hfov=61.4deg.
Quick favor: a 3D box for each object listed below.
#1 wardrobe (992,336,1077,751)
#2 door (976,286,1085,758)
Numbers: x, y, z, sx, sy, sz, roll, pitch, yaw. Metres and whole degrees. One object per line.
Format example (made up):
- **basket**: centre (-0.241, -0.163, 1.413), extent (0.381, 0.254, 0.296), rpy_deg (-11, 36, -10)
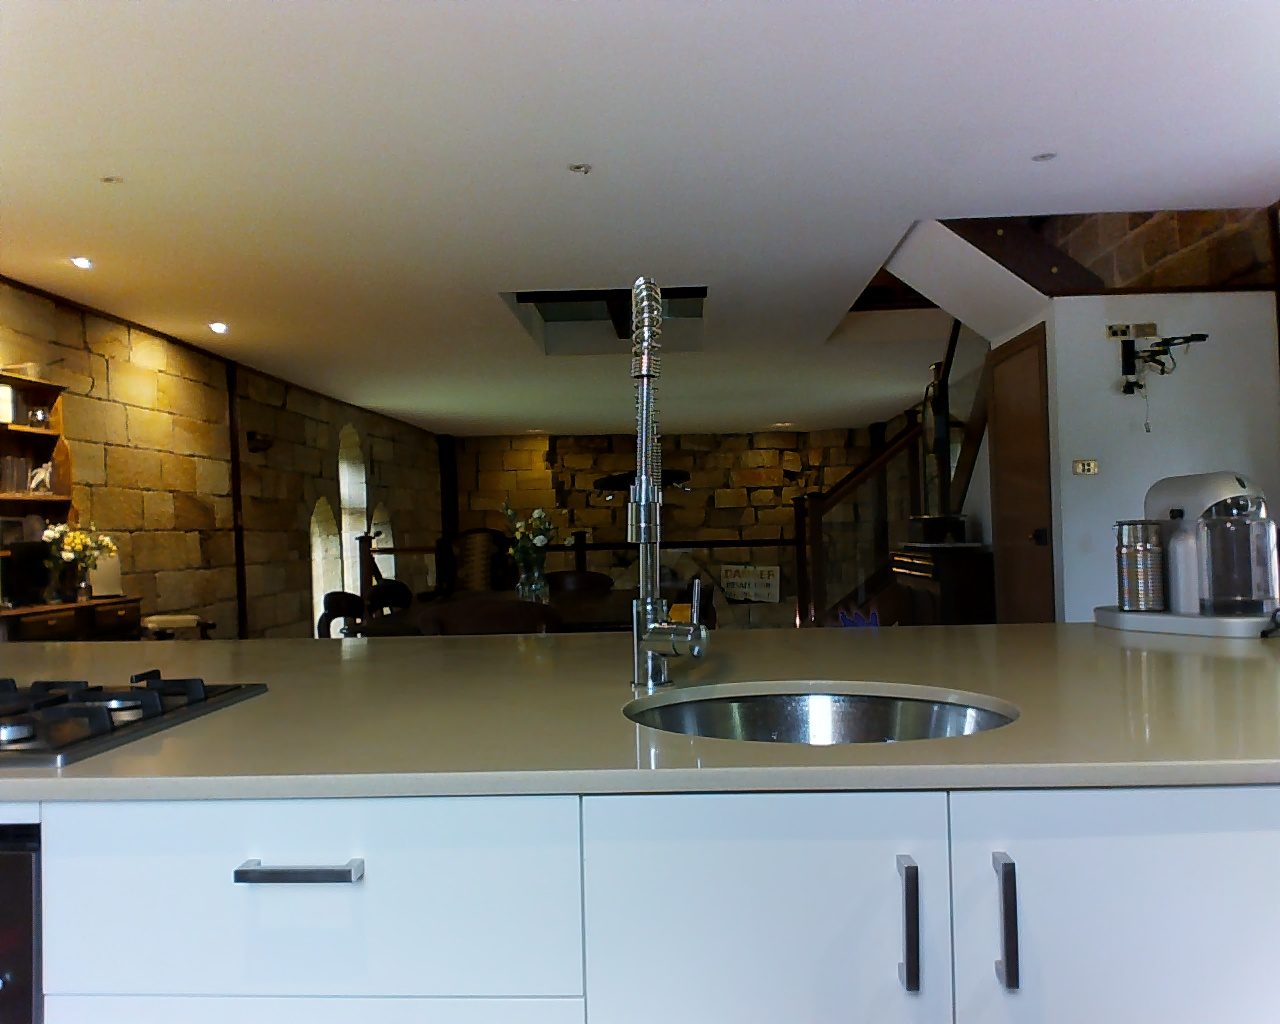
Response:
- **wardrobe**: centre (2.229, 0.160, 6.140), extent (0.150, 2.171, 1.010), rpy_deg (-1, 1, 4)
- **door**: centre (2.179, 0.060, 6.100), extent (0.160, 2.401, 1.240), rpy_deg (-1, -2, 2)
